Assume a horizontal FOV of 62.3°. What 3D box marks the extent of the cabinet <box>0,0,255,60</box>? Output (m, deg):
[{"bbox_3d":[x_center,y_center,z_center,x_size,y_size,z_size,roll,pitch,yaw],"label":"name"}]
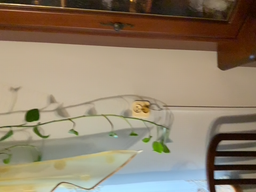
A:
[{"bbox_3d":[-0.060,-0.500,0.780,0.550,1.130,0.560,161,110,-79],"label":"cabinet"}]
